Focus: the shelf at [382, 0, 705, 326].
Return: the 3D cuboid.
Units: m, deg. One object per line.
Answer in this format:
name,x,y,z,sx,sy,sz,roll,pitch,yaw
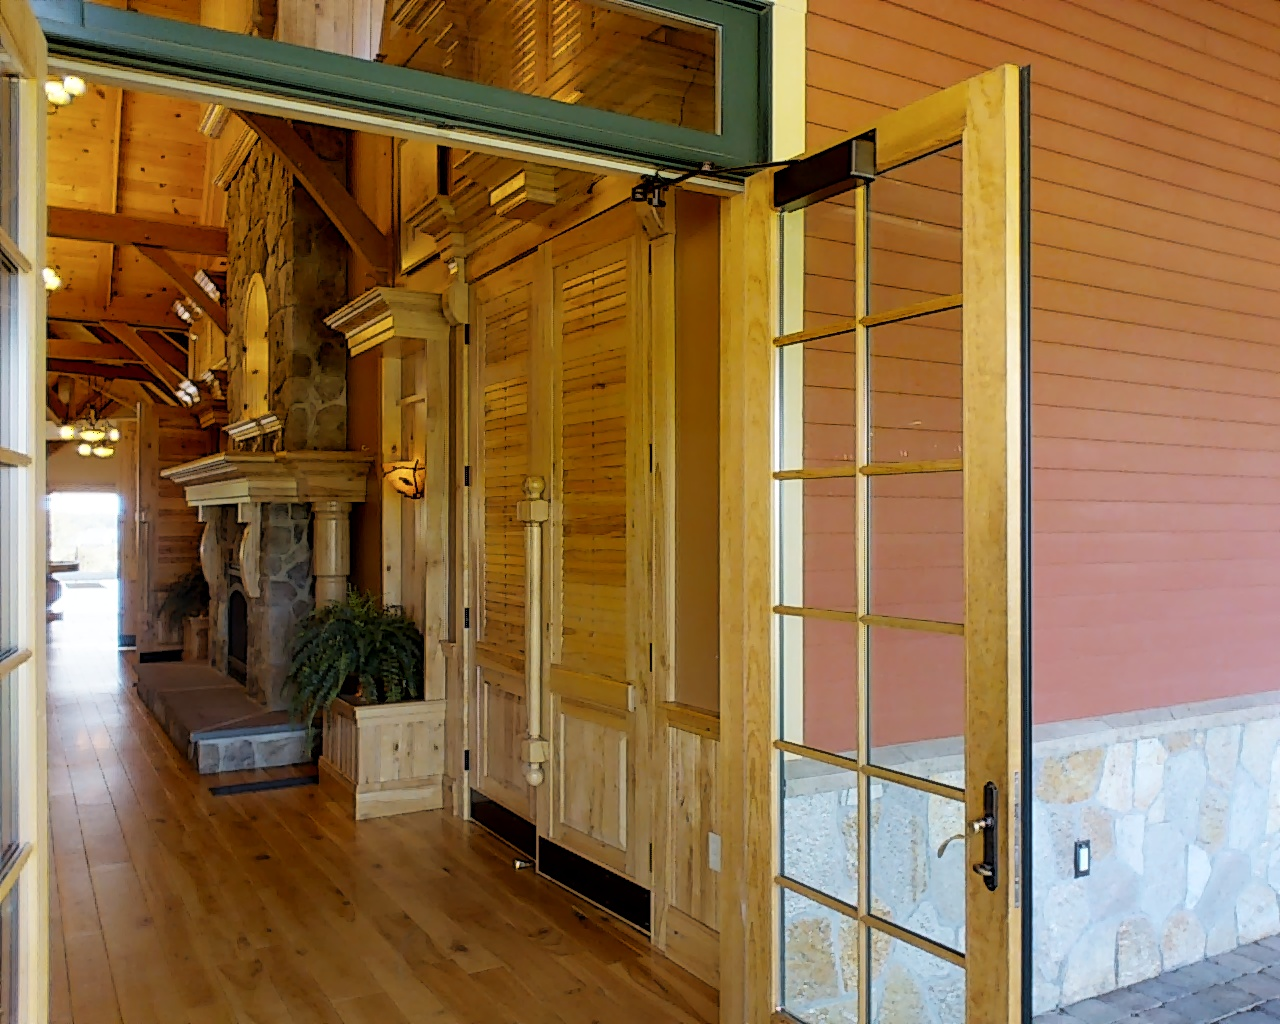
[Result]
shelf,-0.570,-1.380,4.670,0.360,0.740,2.500,1,0,-30
